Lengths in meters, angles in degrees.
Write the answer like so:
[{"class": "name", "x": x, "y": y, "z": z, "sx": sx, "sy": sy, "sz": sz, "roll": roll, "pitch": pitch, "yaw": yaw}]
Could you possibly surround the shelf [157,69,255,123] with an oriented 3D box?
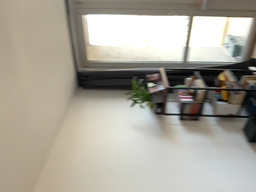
[{"class": "shelf", "x": 1.060, "y": -0.030, "z": 2.720, "sx": 0.730, "sy": 1.270, "sz": 0.380, "roll": -89, "pitch": 0, "yaw": -61}]
